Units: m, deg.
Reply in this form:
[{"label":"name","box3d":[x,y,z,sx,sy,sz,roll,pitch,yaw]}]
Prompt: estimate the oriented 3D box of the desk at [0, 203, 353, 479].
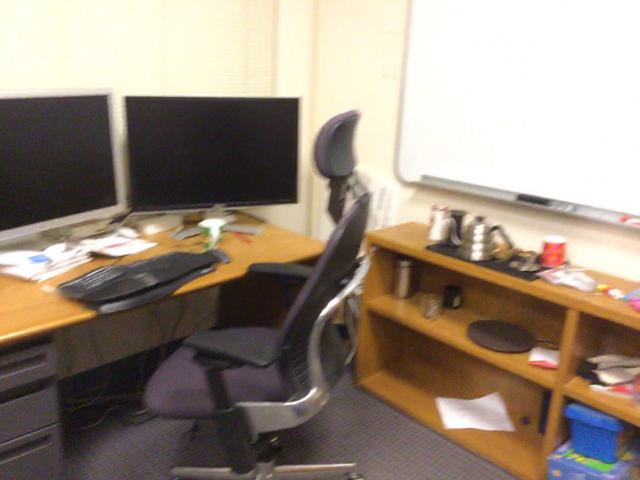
[{"label":"desk","box3d":[-0.710,0.390,2.090,1.540,0.750,0.770,-12,22,-43]}]
